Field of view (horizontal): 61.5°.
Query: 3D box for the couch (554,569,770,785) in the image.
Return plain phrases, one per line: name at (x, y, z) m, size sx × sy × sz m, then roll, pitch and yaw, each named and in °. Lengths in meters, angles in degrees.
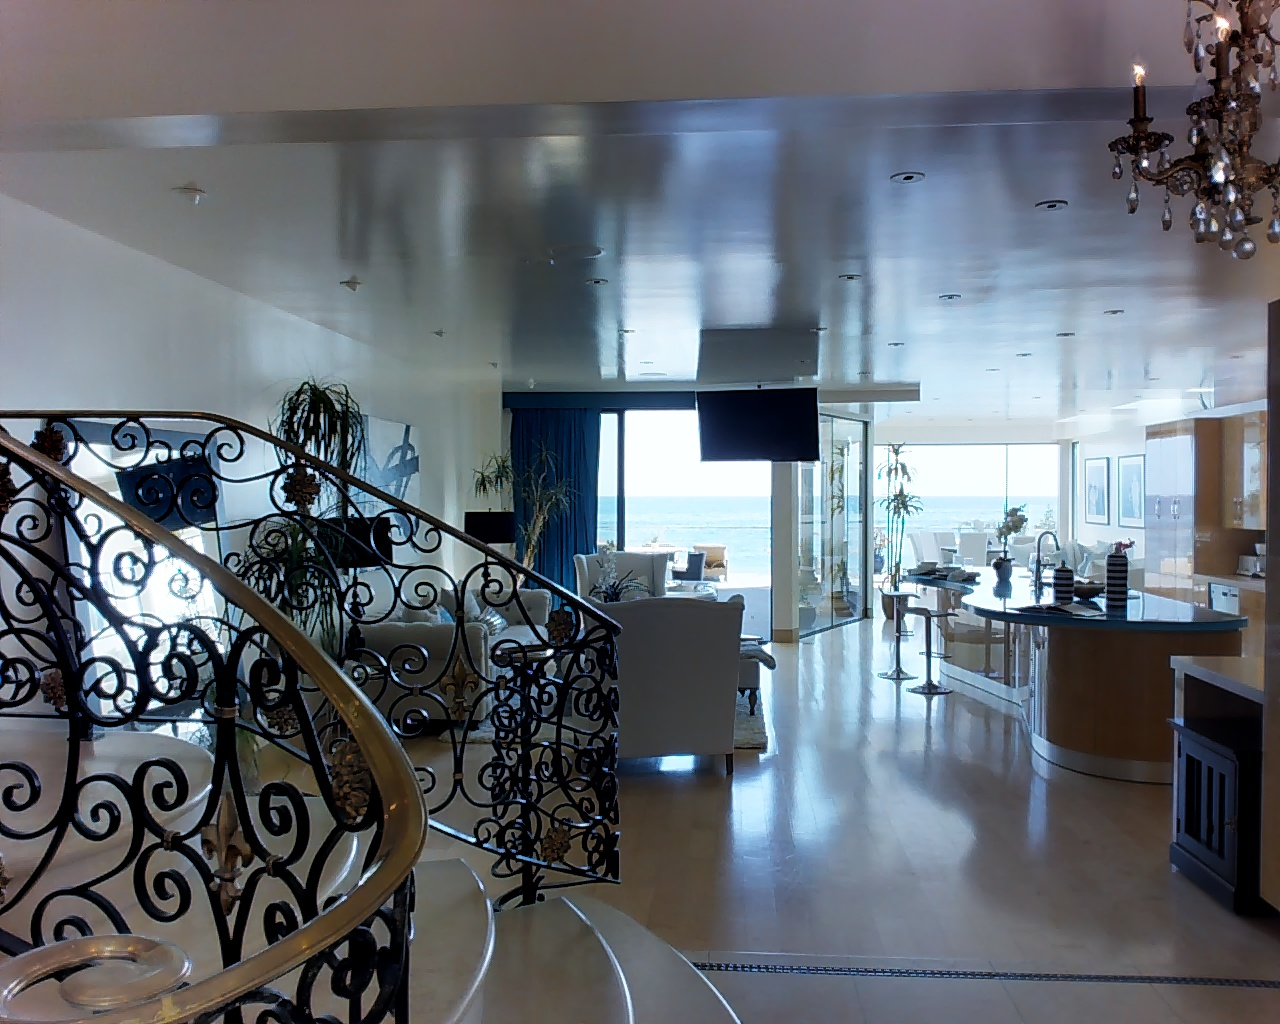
couch at (0.100, 0.980, 6.780) m, size 1.179 × 1.141 × 1.050 m, roll -1°, pitch 2°, yaw -10°
